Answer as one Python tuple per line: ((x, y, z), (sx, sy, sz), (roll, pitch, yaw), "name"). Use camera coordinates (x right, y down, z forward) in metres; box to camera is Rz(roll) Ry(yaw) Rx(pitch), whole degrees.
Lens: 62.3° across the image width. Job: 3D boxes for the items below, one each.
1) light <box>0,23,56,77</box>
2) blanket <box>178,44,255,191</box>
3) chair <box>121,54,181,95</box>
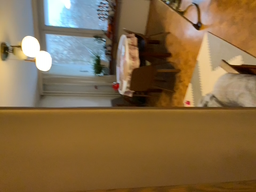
((-1.330, -0.610, 2.750), (0.490, 0.620, 0.520), (-87, 4, -66), "light")
((0.700, 0.100, 1.410), (0.760, 0.320, 0.640), (-109, 23, -57), "blanket")
((0.340, -0.360, 3.530), (0.600, 0.800, 0.450), (-111, 26, -60), "chair")
